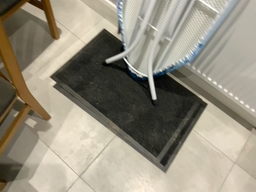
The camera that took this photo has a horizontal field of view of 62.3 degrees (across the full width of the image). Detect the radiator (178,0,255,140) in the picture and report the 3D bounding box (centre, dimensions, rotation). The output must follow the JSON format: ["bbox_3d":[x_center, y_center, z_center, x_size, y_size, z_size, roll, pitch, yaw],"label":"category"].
[{"bbox_3d":[0.590,-0.100,0.940,0.550,0.750,0.090,41,69,10],"label":"radiator"}]
